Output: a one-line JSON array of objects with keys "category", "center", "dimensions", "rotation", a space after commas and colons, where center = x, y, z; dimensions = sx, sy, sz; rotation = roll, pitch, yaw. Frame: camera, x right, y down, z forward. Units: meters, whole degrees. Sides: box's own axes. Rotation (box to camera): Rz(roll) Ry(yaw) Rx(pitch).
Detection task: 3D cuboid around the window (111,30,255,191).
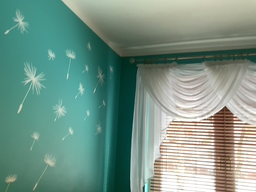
[{"category": "window", "center": [0.870, 0.340, 1.960], "dimensions": [2.020, 1.840, 0.270], "rotation": [0, -9, 15]}]
